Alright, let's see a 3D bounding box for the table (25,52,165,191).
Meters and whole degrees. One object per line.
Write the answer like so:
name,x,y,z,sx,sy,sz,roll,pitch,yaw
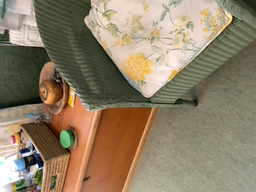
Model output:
table,-0.270,0.320,1.320,0.520,0.440,1.020,35,118,36
